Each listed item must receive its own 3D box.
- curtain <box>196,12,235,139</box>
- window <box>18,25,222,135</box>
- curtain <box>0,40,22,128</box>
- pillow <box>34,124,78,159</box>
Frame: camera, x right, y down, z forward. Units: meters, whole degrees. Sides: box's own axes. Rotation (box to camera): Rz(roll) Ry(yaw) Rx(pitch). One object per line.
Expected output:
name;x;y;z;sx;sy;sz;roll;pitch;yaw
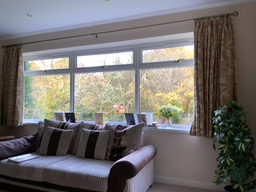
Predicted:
curtain;1.090;-0.240;2.640;0.430;1.470;0.210;0;-2;29
window;-0.450;-0.230;3.700;3.830;1.510;0.120;0;-2;22
curtain;-2.280;-0.220;4.000;0.430;1.590;0.240;0;-2;25
pillow;-1.000;0.640;2.990;0.470;0.390;0.200;-8;15;11
